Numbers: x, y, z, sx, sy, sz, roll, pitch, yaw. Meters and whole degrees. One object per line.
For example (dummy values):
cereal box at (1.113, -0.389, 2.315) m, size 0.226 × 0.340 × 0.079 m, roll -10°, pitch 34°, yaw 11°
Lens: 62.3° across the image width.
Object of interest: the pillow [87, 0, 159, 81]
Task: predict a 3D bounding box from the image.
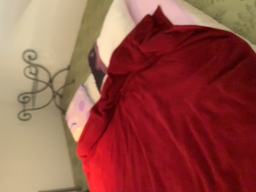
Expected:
pillow at (-0.060, -0.380, 1.360) m, size 0.420 × 0.210 × 0.360 m, roll -61°, pitch 39°, yaw 34°
